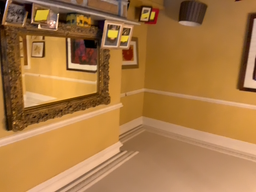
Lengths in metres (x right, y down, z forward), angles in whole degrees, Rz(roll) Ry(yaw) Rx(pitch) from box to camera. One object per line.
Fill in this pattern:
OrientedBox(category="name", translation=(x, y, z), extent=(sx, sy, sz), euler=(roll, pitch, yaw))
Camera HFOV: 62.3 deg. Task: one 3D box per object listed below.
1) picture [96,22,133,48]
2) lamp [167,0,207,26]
OrientedBox(category="picture", translation=(-0.150, -0.700, 2.480), extent=(0.170, 0.260, 0.490), euler=(10, -165, 30))
OrientedBox(category="lamp", translation=(0.920, -1.450, 3.260), extent=(0.470, 0.670, 0.390), euler=(10, -165, 31))
